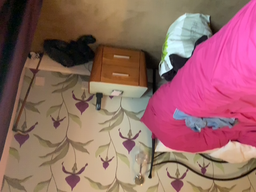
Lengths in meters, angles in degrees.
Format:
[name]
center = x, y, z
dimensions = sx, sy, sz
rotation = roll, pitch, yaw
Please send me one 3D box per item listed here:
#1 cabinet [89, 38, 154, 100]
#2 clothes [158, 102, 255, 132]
[cabinet]
center = -0.080, -0.240, 2.110
dimensions = 0.560, 0.400, 0.460
rotation = 6, 164, -10
[clothes]
center = 0.580, 0.180, 1.600
dimensions = 0.560, 0.100, 0.420
rotation = 10, 162, -25
